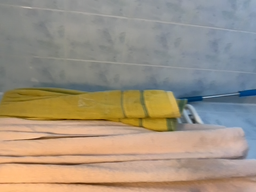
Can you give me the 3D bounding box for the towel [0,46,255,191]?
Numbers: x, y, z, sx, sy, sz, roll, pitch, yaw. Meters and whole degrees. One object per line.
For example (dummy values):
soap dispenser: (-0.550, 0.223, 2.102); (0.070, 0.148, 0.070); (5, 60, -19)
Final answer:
towel: (-0.040, 0.090, 0.720); (0.600, 0.920, 0.240); (-107, 23, -56)
